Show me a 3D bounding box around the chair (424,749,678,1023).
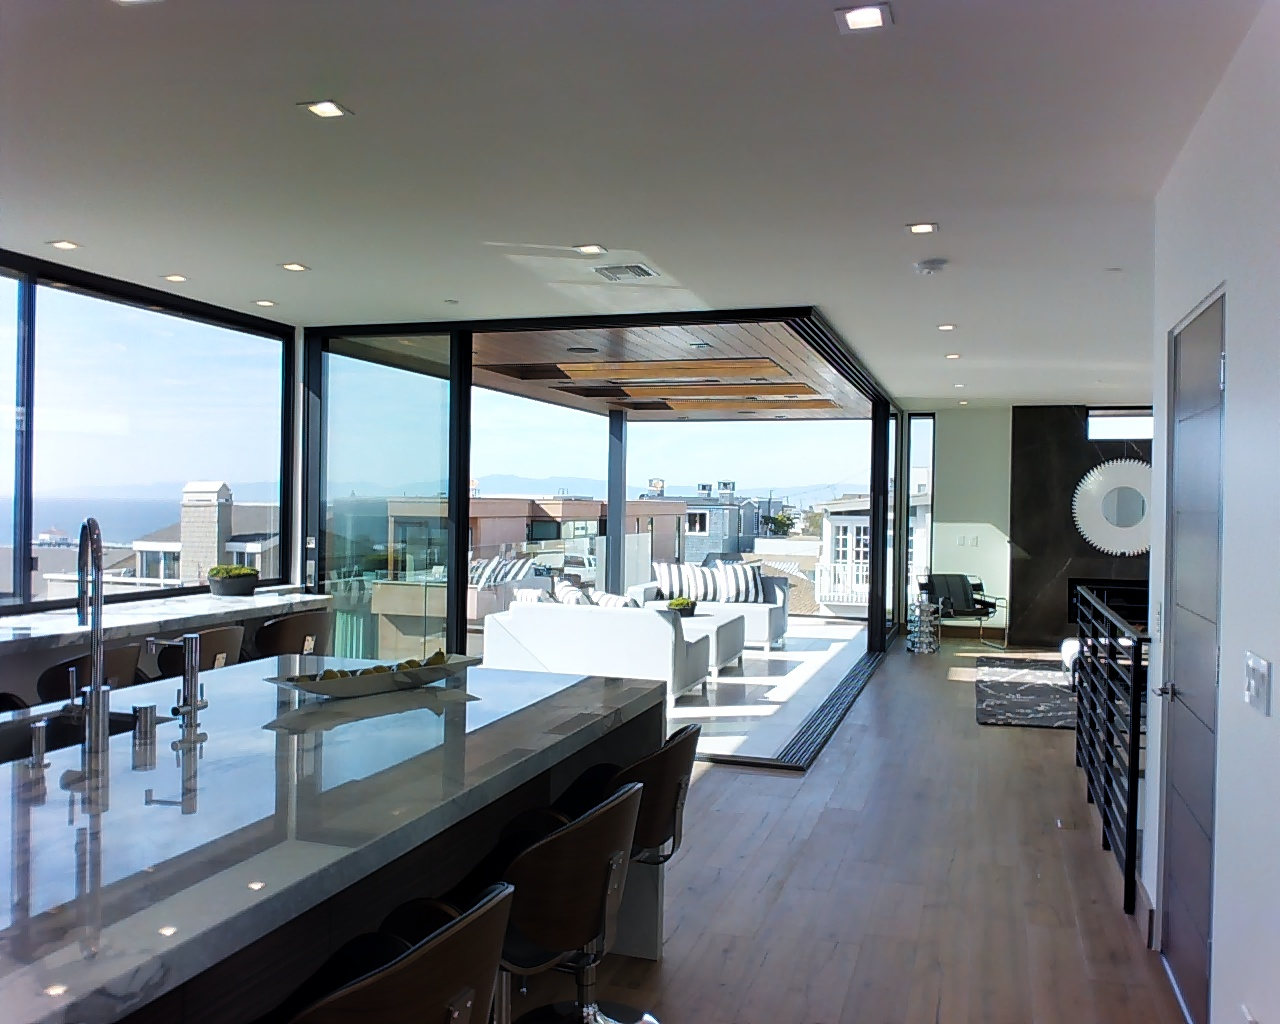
[{"bbox_3d":[-0.180,1.070,2.400,0.380,0.950,0.500,1,0,21],"label":"chair"}]
